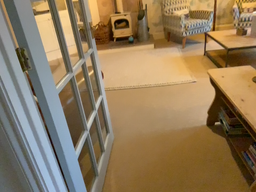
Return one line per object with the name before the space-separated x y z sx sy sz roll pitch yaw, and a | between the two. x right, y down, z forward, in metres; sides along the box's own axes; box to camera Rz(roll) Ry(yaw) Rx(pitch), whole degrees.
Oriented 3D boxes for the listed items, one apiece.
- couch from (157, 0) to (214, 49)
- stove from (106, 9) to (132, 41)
couch | 1.110 -1.530 4.270 0.720 0.840 0.860 -15 29 -15
stove | -0.180 -1.580 4.690 0.480 0.560 0.450 -5 28 4
